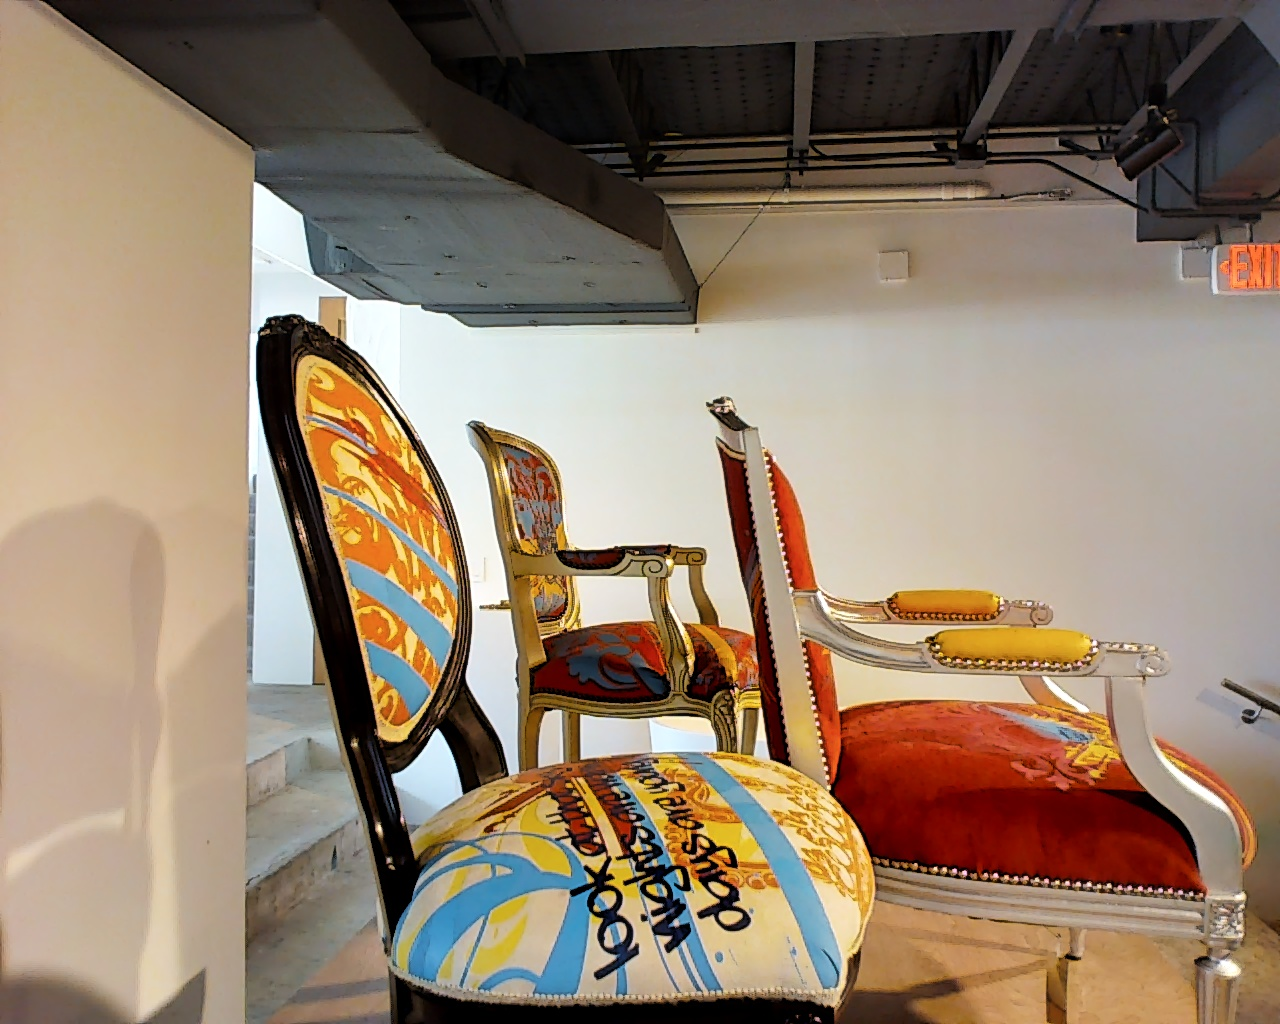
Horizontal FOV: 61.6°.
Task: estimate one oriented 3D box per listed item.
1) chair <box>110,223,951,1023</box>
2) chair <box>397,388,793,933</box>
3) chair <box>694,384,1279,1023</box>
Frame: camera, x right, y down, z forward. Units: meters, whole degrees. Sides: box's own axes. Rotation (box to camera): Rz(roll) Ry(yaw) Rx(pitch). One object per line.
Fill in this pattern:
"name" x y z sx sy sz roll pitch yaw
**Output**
"chair" -0.060 0.250 1.030 0.600 0.900 0.540 1 0 8
"chair" -0.050 0.250 2.200 0.680 0.940 0.590 1 0 10
"chair" 0.480 0.290 1.570 0.730 0.870 0.680 1 0 8
